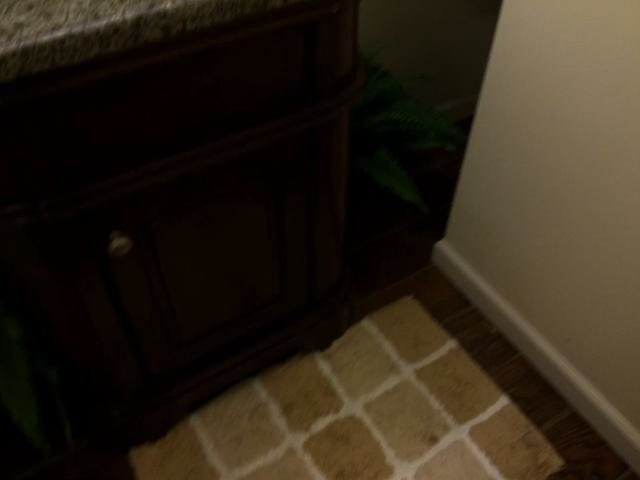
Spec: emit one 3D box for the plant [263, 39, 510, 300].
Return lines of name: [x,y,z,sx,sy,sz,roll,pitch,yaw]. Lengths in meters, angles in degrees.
plant: [0.140,-0.200,1.530,0.390,0.390,0.470,-24,52,-22]
